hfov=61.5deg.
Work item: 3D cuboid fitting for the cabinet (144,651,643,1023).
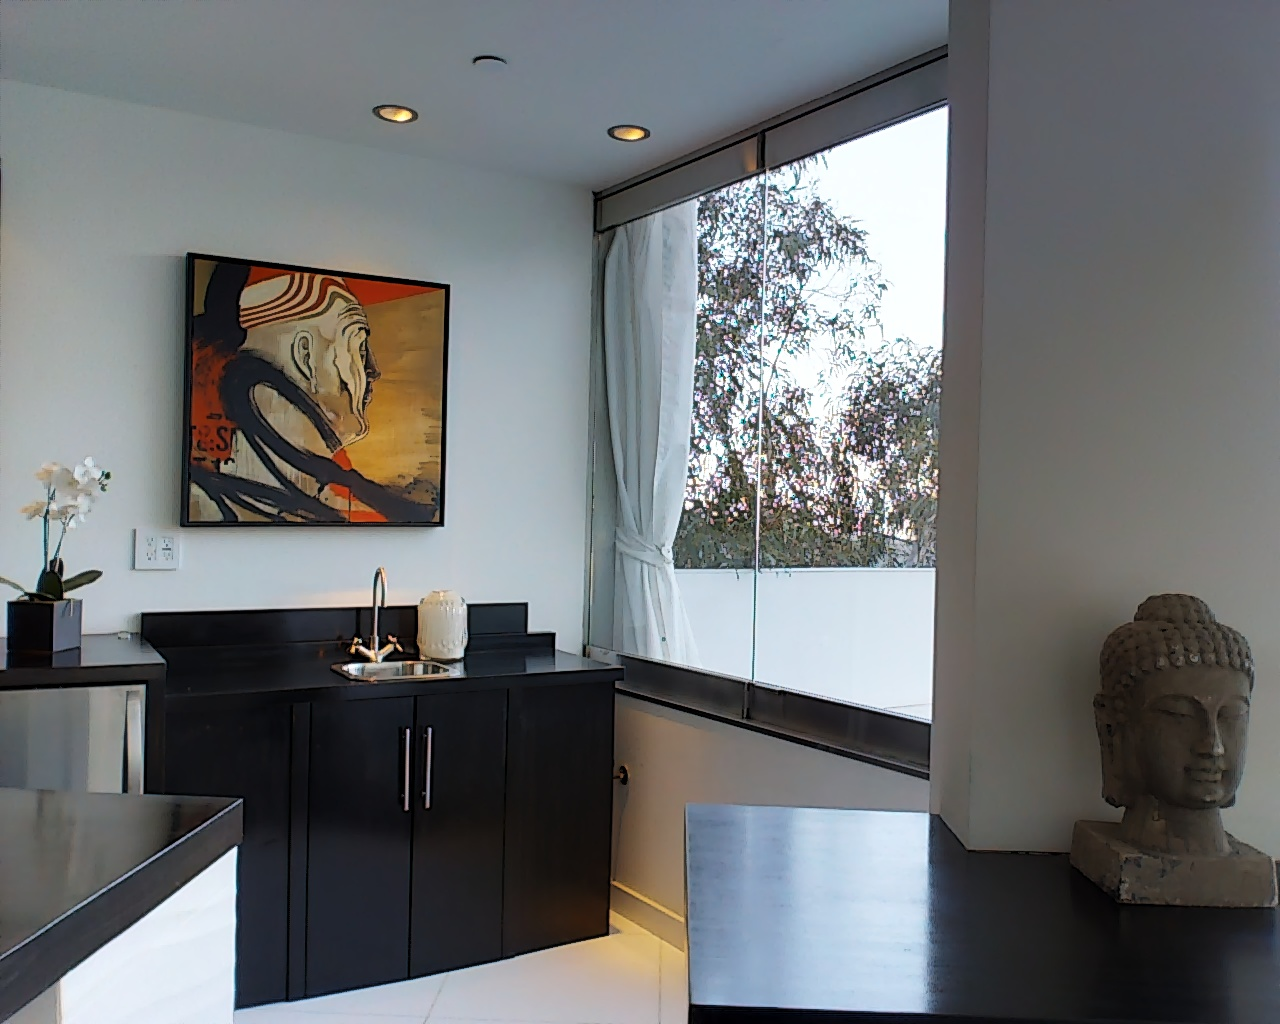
[{"bbox_3d":[-0.720,0.900,3.240,1.340,0.840,0.550,2,0,-30],"label":"cabinet"}]

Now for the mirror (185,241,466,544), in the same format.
[{"bbox_3d":[-0.960,-0.340,3.360,0.820,0.870,0.090,2,0,-30],"label":"mirror"}]
